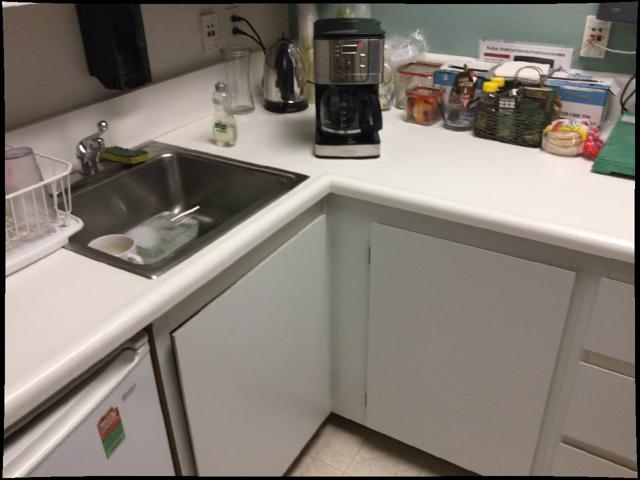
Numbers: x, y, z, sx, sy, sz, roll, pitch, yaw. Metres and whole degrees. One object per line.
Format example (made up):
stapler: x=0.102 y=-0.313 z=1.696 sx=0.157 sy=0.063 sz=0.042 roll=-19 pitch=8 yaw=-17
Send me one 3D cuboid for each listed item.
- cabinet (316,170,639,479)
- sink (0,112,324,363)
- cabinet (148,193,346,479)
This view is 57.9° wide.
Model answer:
cabinet: x=0.849 y=0.470 z=1.290 sx=1.929 sy=0.871 sz=0.100 roll=17 pitch=35 yaw=25
sink: x=-0.380 y=-0.060 z=1.420 sx=0.600 sy=0.270 sz=0.510 roll=17 pitch=35 yaw=26
cabinet: x=-0.130 y=0.340 z=1.470 sx=0.090 sy=0.741 sz=0.610 roll=17 pitch=35 yaw=25
